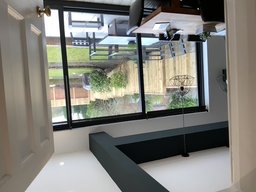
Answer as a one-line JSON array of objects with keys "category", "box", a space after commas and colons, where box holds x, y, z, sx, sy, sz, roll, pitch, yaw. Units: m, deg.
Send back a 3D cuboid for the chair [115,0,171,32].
[{"category": "chair", "box": [0.180, -1.450, 3.080, 0.660, 0.880, 0.590, -4, -177, -12]}]
